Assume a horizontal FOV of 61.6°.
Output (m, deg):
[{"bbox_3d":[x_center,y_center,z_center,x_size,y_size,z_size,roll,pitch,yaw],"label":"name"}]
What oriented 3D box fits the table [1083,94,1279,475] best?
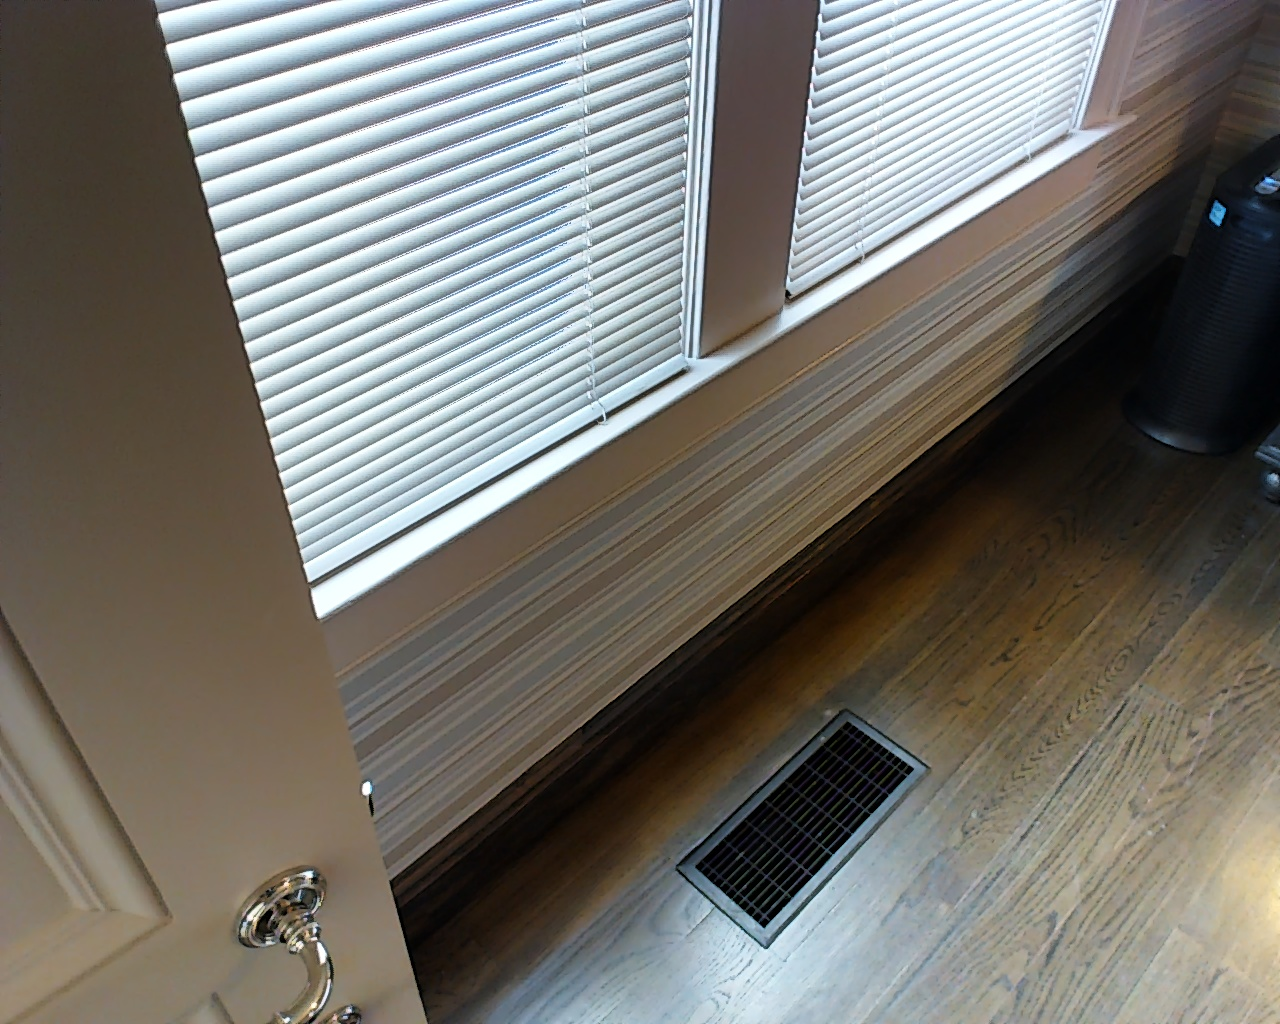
[{"bbox_3d":[1.360,-0.510,2.390,0.340,0.600,0.530,35,52,31],"label":"table"}]
